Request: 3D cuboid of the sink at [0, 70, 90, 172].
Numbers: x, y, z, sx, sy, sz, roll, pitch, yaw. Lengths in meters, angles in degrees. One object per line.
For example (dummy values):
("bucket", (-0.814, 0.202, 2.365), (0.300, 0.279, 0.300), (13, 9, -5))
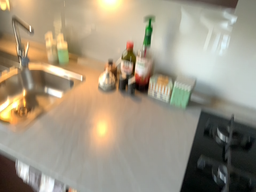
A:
("sink", (-0.520, 0.090, 1.180), (0.410, 0.180, 0.500), (18, 37, 16))
